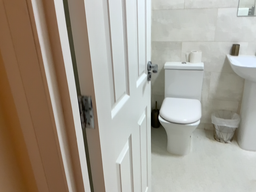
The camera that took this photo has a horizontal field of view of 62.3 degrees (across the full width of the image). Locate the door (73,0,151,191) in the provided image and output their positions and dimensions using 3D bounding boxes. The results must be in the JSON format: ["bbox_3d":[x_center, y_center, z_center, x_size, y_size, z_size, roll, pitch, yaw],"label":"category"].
[{"bbox_3d":[0.010,-0.050,0.930,0.020,2.000,0.720,5,24,18],"label":"door"}]

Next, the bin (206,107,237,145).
[{"bbox_3d":[0.980,0.310,2.240,0.250,0.280,0.250,7,25,22],"label":"bin"}]
